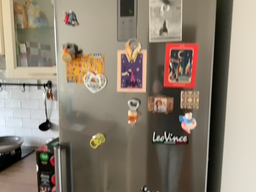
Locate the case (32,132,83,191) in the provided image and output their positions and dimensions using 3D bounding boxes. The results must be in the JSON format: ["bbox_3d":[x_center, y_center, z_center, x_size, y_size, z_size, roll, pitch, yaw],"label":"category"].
[{"bbox_3d":[-0.330,0.330,1.030,0.140,0.240,0.220,2,8,11],"label":"case"}]

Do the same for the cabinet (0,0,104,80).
[{"bbox_3d":[-0.440,-0.580,1.290,0.500,0.930,0.350,2,8,10],"label":"cabinet"}]
